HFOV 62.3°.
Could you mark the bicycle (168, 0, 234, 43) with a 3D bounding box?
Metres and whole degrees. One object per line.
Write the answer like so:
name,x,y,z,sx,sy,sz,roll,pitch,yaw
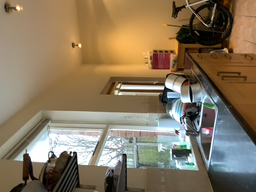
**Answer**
bicycle,1.250,-1.830,3.650,0.550,0.980,1.700,-76,-13,-64
